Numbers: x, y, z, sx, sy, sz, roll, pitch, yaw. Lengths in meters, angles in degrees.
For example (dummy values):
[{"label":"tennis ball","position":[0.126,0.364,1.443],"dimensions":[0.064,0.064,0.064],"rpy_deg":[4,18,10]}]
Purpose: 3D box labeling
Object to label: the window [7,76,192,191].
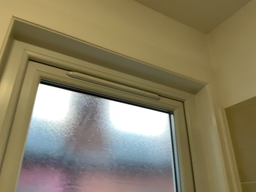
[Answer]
[{"label":"window","position":[-0.040,0.480,0.620],"dimensions":[0.640,1.050,0.040],"rpy_deg":[14,-30,-25]}]
